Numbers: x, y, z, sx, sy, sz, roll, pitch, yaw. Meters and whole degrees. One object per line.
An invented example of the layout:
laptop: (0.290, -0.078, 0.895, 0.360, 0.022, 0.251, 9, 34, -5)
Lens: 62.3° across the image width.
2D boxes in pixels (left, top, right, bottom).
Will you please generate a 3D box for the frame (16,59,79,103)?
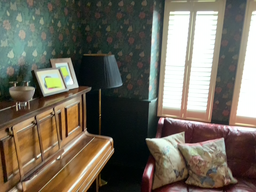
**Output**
frame: (-0.660, -0.150, 1.830, 0.260, 0.280, 0.510, 5, 15, 11)

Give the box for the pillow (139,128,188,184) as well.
pillow: (0.340, 0.550, 2.030, 0.400, 0.300, 0.420, 4, 15, 11)

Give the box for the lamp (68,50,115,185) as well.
lamp: (-0.420, 0.240, 2.570, 0.290, 1.530, 0.470, 9, 16, 27)

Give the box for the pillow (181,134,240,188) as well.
pillow: (0.730, 0.580, 1.960, 0.420, 0.290, 0.360, 4, 15, 11)
